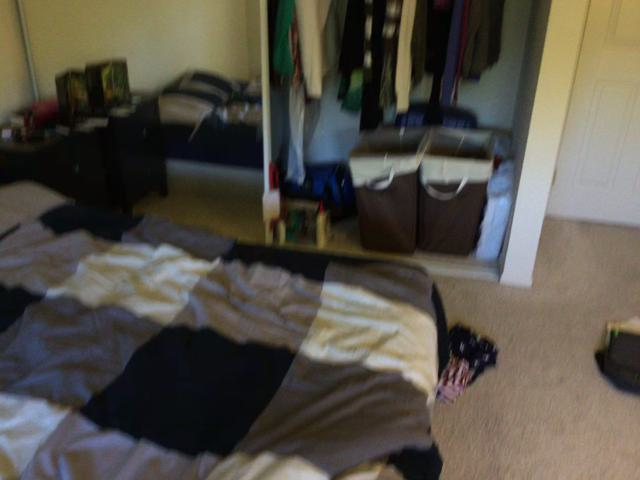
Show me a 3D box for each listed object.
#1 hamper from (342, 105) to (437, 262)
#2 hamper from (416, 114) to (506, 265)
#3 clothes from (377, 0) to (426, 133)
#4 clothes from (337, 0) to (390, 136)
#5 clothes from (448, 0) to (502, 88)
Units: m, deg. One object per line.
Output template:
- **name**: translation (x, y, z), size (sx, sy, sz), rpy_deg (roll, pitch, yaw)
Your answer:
- **hamper**: translation (0.360, -0.310, 2.980), size (0.390, 0.640, 0.520), rpy_deg (6, 27, 13)
- **hamper**: translation (0.720, -0.280, 2.970), size (0.360, 0.590, 0.560), rpy_deg (6, 27, 13)
- **clothes**: translation (0.420, -1.080, 2.870), size (0.150, 0.950, 0.590), rpy_deg (6, 27, 13)
- **clothes**: translation (0.220, -1.040, 2.830), size (0.170, 0.940, 0.480), rpy_deg (6, 27, 13)
- **clothes**: translation (0.750, -1.140, 2.730), size (0.190, 0.710, 0.590), rpy_deg (6, 27, 13)
